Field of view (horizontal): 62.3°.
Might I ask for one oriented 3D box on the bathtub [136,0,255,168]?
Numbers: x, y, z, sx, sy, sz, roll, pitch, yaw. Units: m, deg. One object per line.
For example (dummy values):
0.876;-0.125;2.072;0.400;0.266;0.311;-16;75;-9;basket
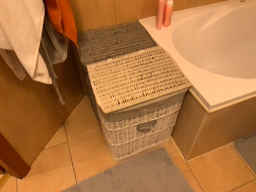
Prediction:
0.890;-0.230;1.520;1.450;0.560;0.810;-17;50;-15;bathtub
